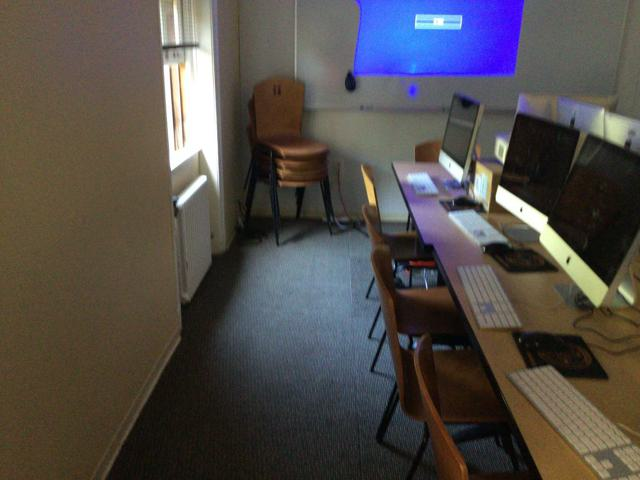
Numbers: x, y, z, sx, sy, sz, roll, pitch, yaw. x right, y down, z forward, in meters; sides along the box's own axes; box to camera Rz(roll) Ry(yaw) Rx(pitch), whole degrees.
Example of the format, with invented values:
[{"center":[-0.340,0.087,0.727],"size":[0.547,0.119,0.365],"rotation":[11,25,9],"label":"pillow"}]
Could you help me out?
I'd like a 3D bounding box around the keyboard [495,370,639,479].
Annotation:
[{"center":[0.480,0.370,1.090],"size":[0.120,0.020,0.400],"rotation":[-4,21,-10],"label":"keyboard"}]
